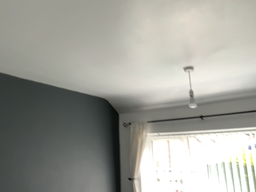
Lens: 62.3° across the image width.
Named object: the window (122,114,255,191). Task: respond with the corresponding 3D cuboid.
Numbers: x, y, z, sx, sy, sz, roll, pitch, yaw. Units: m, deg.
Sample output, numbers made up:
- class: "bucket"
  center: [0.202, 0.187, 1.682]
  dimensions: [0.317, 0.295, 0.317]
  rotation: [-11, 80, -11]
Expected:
- class: "window"
  center: [0.890, 0.880, 2.610]
  dimensions: [2.210, 1.170, 0.230]
  rotation: [-11, -14, 36]
